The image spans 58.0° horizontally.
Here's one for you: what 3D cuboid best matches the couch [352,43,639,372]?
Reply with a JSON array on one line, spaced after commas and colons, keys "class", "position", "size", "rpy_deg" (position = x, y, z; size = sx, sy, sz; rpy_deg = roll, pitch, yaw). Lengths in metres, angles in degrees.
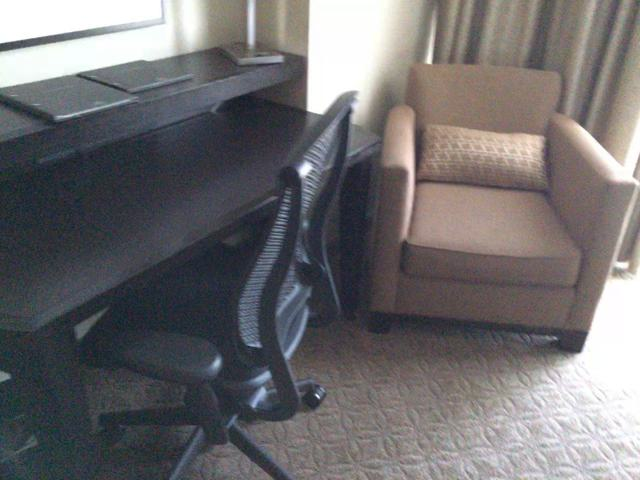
[{"class": "couch", "position": [0.610, -0.200, 2.290], "size": [0.870, 0.870, 1.030], "rpy_deg": [5, 29, 2]}]
